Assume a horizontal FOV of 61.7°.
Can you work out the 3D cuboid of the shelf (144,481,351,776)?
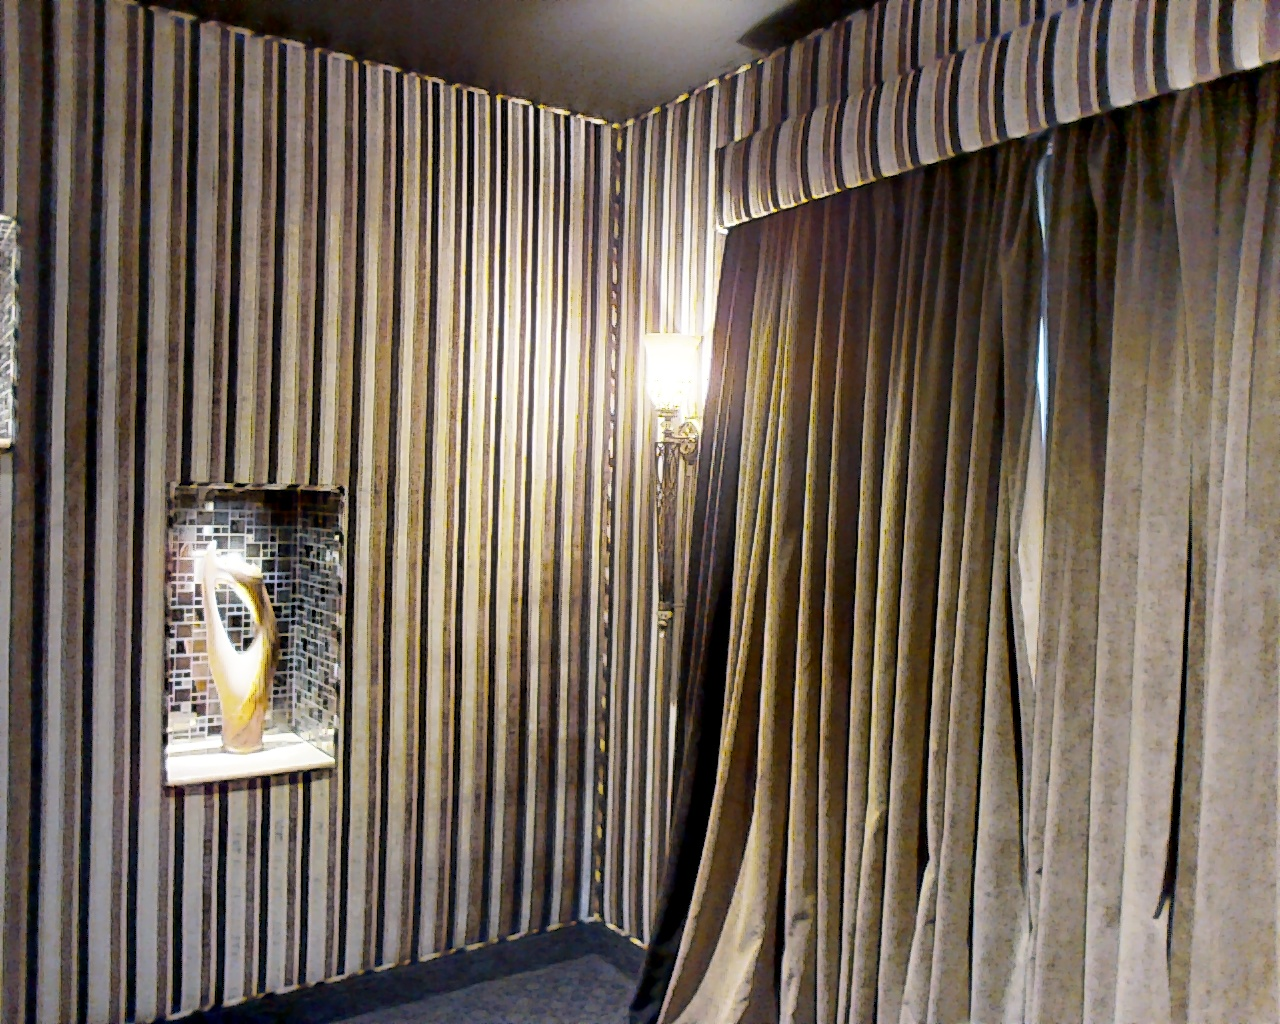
[{"bbox_3d":[-1.190,0.320,3.240,0.490,0.810,0.390,1,1,-35],"label":"shelf"}]

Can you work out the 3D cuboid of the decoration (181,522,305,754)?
[{"bbox_3d":[-1.220,0.370,3.290,0.300,0.670,0.210,1,1,-35],"label":"decoration"}]

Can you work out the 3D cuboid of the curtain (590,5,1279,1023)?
[{"bbox_3d":[0.570,0.390,2.440,0.360,2.340,1.880,1,1,-35],"label":"curtain"}]
